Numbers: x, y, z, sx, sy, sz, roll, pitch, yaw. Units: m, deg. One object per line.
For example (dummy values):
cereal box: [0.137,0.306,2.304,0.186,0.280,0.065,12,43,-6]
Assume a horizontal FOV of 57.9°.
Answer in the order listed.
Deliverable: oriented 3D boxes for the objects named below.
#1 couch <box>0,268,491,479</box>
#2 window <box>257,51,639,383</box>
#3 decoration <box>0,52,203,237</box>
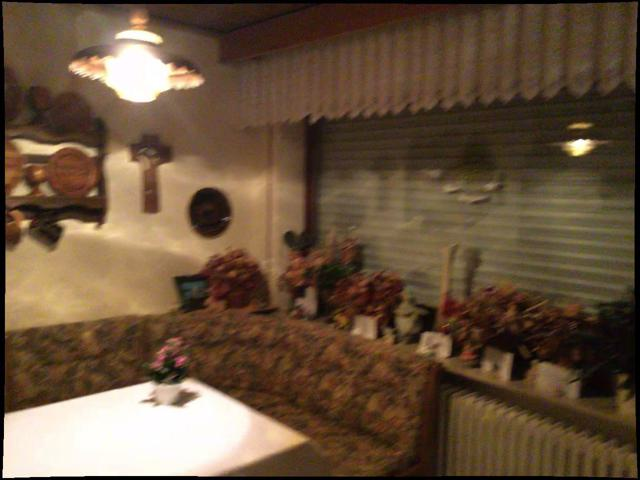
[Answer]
couch: [-0.659,0.811,2.460,2.379,0.991,1.559,-4,8,-40]
window: [0.649,-0.160,2.600,0.460,1.041,2.609,-4,8,-40]
decoration: [-1.119,-0.440,2.850,1.129,0.801,0.140,-4,8,-40]
